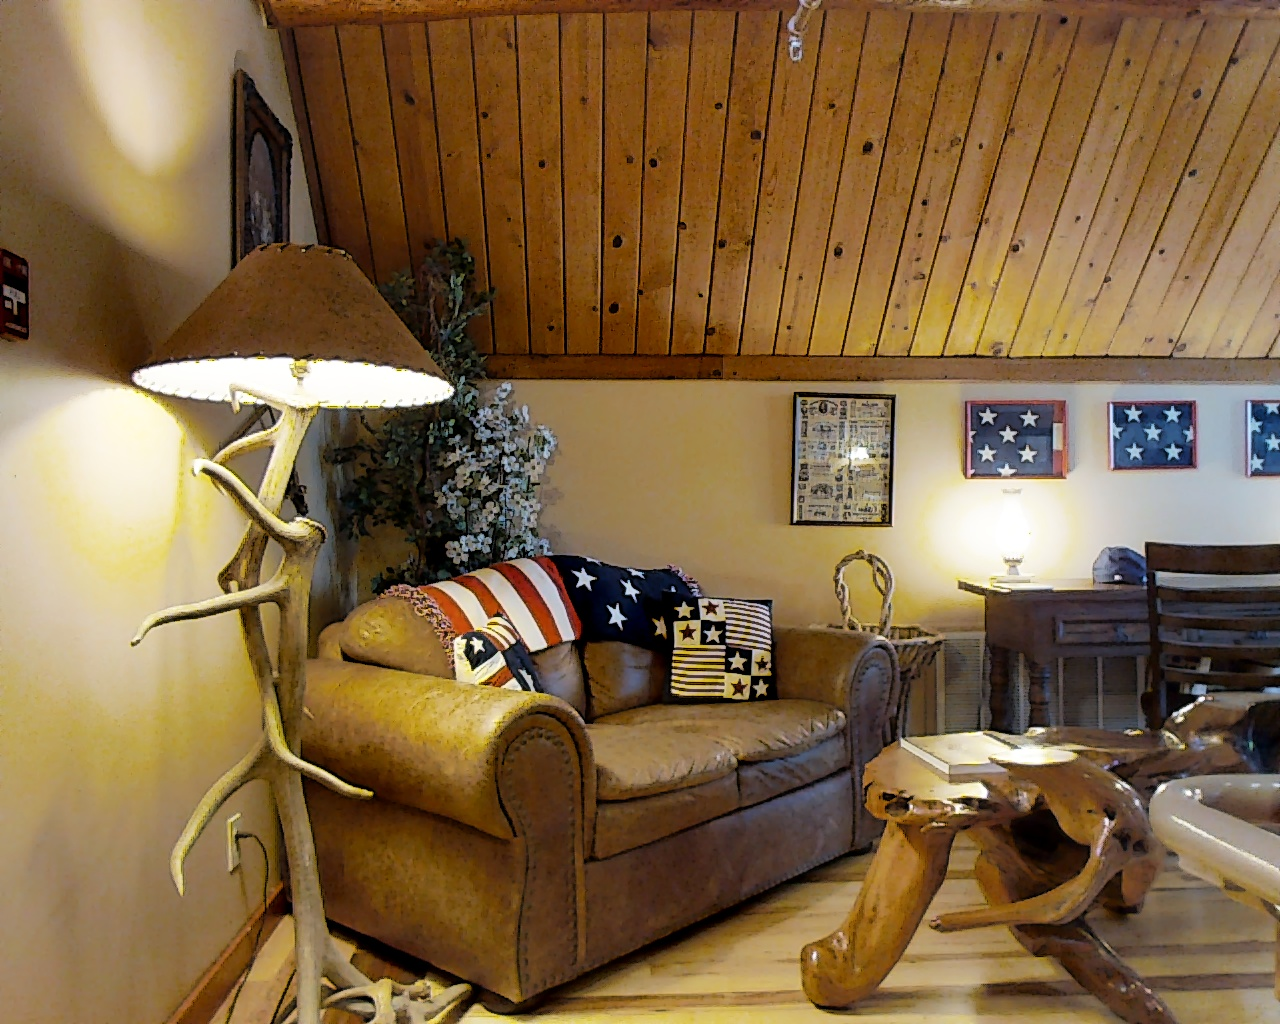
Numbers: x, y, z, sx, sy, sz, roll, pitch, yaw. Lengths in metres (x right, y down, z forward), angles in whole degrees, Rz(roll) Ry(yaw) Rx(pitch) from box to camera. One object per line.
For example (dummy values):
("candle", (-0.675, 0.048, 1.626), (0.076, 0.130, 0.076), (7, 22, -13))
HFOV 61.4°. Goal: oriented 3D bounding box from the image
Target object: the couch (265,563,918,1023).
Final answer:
("couch", (-0.030, 0.610, 3.110), (0.930, 0.840, 1.750), (-1, 0, 41))
